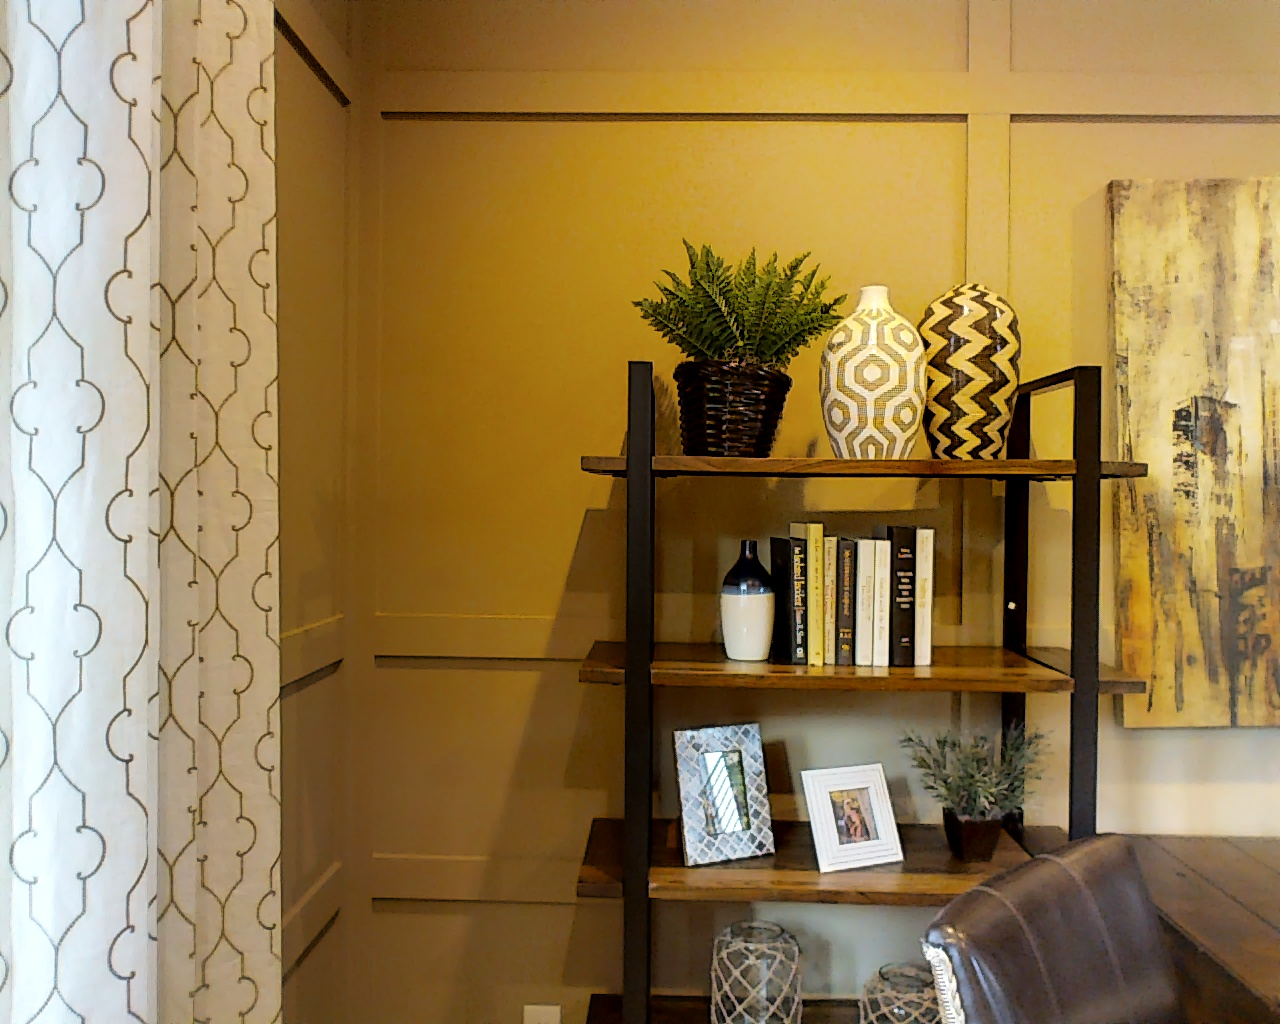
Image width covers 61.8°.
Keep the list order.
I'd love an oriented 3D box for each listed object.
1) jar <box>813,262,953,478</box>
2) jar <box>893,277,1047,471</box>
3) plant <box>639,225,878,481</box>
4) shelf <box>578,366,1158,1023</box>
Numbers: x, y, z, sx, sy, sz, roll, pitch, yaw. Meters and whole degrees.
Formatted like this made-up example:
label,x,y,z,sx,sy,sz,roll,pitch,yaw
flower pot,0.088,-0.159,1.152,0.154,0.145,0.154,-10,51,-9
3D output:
label,x,y,z,sx,sy,sz,roll,pitch,yaw
jar,0.420,-0.240,1.880,0.200,0.350,0.190,1,0,2
jar,0.590,-0.240,1.940,0.210,0.320,0.220,1,0,2
plant,0.200,-0.270,1.930,0.390,0.410,0.290,1,0,1
shelf,0.360,0.580,1.930,0.900,1.610,0.450,1,0,1
